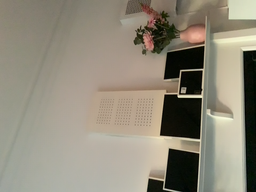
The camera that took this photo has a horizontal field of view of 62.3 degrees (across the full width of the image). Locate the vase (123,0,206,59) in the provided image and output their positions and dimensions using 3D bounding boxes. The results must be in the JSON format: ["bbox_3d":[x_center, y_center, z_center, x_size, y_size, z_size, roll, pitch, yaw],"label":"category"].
[{"bbox_3d":[0.330,-0.570,1.870,0.220,0.650,0.380,51,-134,-54],"label":"vase"}]
